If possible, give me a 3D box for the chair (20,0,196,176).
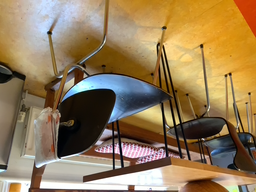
[{"bbox_3d":[-0.100,-0.050,1.020,0.520,0.740,0.480,20,144,-39],"label":"chair"}]

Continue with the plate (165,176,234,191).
[{"bbox_3d":[0.480,0.650,1.390,0.310,0.180,0.340,-25,146,35],"label":"plate"}]
